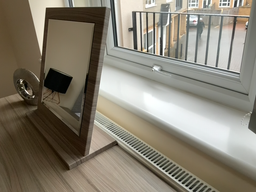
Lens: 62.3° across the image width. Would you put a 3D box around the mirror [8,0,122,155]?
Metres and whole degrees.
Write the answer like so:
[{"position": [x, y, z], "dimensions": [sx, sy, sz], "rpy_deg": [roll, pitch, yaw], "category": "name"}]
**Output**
[{"position": [-0.270, -0.120, 0.920], "dimensions": [0.140, 0.500, 0.590], "rpy_deg": [-29, 50, -29], "category": "mirror"}]
